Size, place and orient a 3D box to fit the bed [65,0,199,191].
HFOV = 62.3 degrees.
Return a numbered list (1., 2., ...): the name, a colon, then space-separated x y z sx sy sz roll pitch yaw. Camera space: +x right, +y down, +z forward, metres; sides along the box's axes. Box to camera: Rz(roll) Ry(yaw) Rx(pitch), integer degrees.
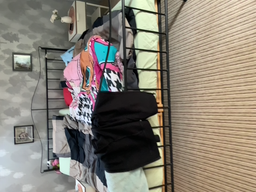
1. bed: -0.230 0.080 2.540 2.190 0.490 1.860 -8 84 61
